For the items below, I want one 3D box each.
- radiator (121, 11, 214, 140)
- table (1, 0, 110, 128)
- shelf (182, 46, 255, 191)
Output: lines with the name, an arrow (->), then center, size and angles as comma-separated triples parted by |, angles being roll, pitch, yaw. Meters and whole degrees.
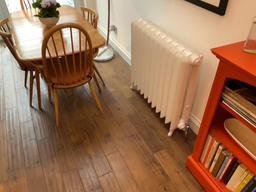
radiator -> 0.260, -0.220, 1.950 | 0.270, 0.800, 0.900 | -17, 42, -20
table -> -0.810, -0.460, 2.300 | 0.760, 0.710, 1.310 | -17, 42, -20
shelf -> 0.730, 0.380, 1.170 | 0.290, 1.020, 0.780 | -16, 42, -19
